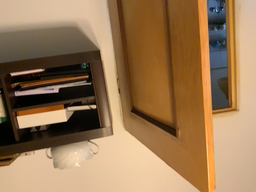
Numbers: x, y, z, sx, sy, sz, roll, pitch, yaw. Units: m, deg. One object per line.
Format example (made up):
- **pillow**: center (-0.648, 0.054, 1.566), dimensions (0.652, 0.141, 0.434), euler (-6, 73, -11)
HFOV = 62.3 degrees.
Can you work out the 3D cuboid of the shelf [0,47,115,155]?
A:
- **shelf**: center (-0.780, 0.060, 1.080), dimensions (1.370, 0.440, 0.270), euler (-8, -169, -4)
